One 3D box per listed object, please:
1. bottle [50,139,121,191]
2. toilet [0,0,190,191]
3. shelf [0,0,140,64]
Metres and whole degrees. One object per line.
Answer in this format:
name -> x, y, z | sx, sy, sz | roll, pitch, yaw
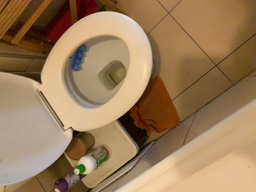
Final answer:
bottle -> -0.170, 0.300, 0.860 | 0.210, 0.150, 0.120 | -39, 81, 21
toilet -> -0.200, -0.030, 0.760 | 0.640, 0.780, 0.390 | -41, 80, 20
shelf -> -0.260, -0.310, 0.800 | 0.360, 0.870, 0.130 | -44, 79, 20
